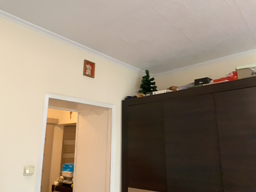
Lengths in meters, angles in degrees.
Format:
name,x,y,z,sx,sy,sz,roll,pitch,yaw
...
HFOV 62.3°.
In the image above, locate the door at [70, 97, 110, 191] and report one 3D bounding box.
name,x,y,z,sx,sy,sz,roll,pitch,yaw
door,-0.480,1.130,2.490,0.620,2.200,0.060,-10,-17,40
